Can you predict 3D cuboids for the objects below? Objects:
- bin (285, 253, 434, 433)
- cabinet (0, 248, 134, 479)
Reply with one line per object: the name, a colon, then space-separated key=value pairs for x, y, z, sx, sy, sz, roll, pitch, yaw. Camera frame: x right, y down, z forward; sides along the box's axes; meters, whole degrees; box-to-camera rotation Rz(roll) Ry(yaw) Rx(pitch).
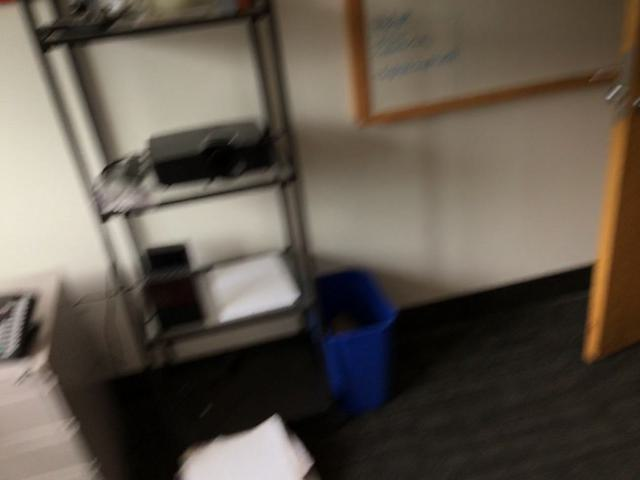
bin: x=0.130 y=0.330 z=1.940 sx=0.360 sy=0.380 sz=0.350 roll=-15 pitch=29 yaw=-10
cabinet: x=-0.820 y=0.500 z=1.550 sx=0.430 sy=0.700 sz=0.550 roll=-15 pitch=29 yaw=-10
